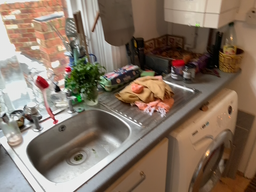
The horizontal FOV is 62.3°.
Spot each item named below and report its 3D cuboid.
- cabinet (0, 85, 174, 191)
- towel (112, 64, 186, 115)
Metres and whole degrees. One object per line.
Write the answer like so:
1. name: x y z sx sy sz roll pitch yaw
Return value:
1. cabinet: -0.180 0.520 1.190 0.620 0.880 0.530 24 41 37
2. towel: 0.110 -0.050 1.150 0.310 0.100 0.240 23 41 36
